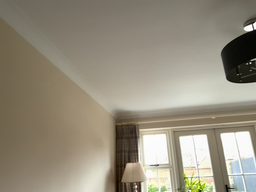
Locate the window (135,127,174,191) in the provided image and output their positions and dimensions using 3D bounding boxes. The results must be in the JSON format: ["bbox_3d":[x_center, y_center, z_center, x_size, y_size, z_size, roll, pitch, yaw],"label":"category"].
[{"bbox_3d":[0.470,1.220,3.830,0.600,1.270,0.060,-6,-19,7],"label":"window"}]
